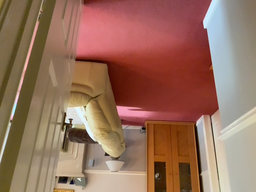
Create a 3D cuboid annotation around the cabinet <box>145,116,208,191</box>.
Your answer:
[{"bbox_3d":[0.900,1.510,4.170,1.100,2.160,0.490,1,157,1],"label":"cabinet"}]
